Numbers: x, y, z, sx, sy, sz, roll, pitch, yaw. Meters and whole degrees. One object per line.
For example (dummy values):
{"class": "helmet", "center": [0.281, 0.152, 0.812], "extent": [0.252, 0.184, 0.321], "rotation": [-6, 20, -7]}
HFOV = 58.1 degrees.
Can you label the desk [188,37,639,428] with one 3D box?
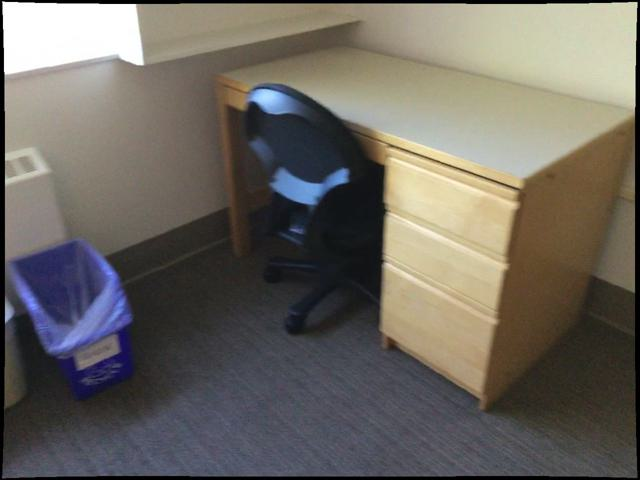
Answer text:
{"class": "desk", "center": [0.249, -0.170, 2.100], "extent": [0.709, 0.781, 1.359], "rotation": [-28, 40, -35]}
